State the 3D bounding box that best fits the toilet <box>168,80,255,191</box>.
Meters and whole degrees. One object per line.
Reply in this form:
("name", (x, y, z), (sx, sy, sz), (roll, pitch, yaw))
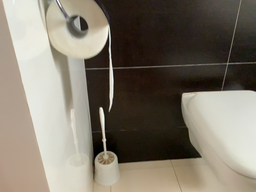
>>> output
("toilet", (0.420, 0.230, 0.840), (0.360, 0.400, 0.510), (-3, 28, -6))
